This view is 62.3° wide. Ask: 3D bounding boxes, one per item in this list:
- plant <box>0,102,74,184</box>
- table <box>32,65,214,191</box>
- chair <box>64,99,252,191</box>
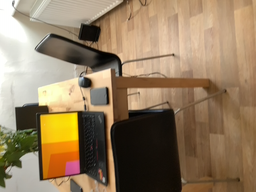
[{"bbox_3d":[-0.590,0.250,1.240,0.340,0.400,0.260,47,128,40],"label":"plant"},{"bbox_3d":[-0.150,0.250,1.580,1.230,0.750,0.760,-2,91,53],"label":"table"},{"bbox_3d":[0.180,0.260,1.080,0.430,0.840,0.390,-16,80,52],"label":"chair"}]
